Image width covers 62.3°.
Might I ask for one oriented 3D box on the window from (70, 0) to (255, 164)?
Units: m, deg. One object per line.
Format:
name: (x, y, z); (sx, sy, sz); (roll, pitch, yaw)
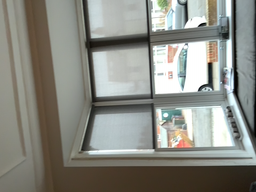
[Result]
window: (0.390, -0.750, 2.720); (0.940, 1.900, 2.970); (-51, -42, -79)
